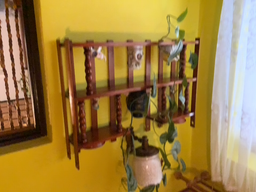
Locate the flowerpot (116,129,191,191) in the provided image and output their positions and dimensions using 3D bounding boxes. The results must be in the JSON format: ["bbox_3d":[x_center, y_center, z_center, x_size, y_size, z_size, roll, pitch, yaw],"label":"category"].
[{"bbox_3d":[0.150,0.460,1.280,0.360,0.390,0.250,-9,-164,-34],"label":"flowerpot"}]

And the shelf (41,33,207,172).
[{"bbox_3d":[0.060,-0.030,1.200,0.960,0.590,0.160,-9,-164,-33],"label":"shelf"}]
